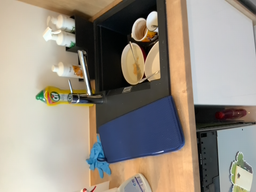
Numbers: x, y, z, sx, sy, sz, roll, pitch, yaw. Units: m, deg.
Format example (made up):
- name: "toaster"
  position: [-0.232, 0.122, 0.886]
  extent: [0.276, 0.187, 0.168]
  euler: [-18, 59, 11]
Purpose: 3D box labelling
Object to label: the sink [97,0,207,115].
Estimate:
- name: "sink"
  position: [0.090, -0.160, 0.990]
  extent: [0.460, 0.240, 0.470]
  euler: [-3, 86, 48]
